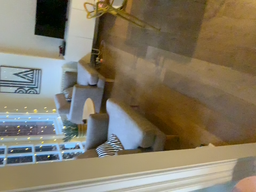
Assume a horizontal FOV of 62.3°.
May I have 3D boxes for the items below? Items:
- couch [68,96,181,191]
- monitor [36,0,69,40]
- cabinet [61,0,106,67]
[{"bbox_3d":[-0.130,0.590,2.470,0.980,0.830,0.890,37,120,57],"label":"couch"},{"bbox_3d":[-1.390,-1.550,3.930,0.050,0.520,0.920,37,120,57],"label":"monitor"},{"bbox_3d":[-0.890,-1.390,4.210,0.420,0.640,1.510,37,120,57],"label":"cabinet"}]
